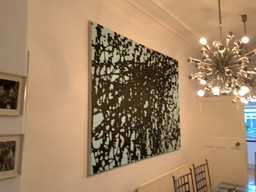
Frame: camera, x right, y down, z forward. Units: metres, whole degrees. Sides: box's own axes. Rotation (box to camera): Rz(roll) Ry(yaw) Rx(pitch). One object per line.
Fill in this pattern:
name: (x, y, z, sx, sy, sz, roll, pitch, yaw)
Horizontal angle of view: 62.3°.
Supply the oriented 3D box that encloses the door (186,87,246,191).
door: (1.640, 0.990, 4.050, 0.970, 2.250, 0.160, -5, -7, 40)
